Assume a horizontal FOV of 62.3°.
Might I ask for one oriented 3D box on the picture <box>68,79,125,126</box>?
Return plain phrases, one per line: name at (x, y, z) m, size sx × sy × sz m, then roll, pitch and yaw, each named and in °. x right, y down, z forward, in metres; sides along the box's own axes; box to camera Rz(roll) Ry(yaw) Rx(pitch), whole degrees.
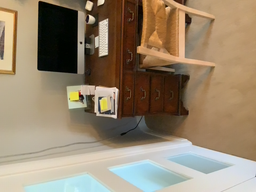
picture at (-0.280, 0.030, 1.750) m, size 0.550 × 0.210 × 0.290 m, roll 13°, pitch 99°, yaw 53°
